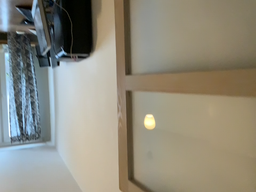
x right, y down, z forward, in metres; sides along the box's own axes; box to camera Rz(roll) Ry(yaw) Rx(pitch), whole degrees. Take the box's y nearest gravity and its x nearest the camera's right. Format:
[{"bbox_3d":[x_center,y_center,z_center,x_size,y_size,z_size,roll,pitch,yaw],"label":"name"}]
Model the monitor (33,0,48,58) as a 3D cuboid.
[{"bbox_3d":[-0.690,-0.560,1.650,0.050,0.450,0.520,-3,-178,-26],"label":"monitor"}]
